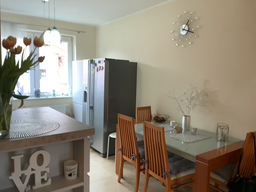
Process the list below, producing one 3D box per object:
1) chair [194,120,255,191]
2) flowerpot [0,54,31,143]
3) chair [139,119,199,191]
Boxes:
[{"bbox_3d":[1.110,0.800,2.390,0.470,0.920,0.480,-4,8,-37],"label":"chair"},{"bbox_3d":[-0.620,0.000,1.050,0.190,0.390,0.270,-3,8,-36],"label":"flowerpot"},{"bbox_3d":[0.460,0.790,2.460,0.460,0.910,0.470,-4,8,-37],"label":"chair"}]
